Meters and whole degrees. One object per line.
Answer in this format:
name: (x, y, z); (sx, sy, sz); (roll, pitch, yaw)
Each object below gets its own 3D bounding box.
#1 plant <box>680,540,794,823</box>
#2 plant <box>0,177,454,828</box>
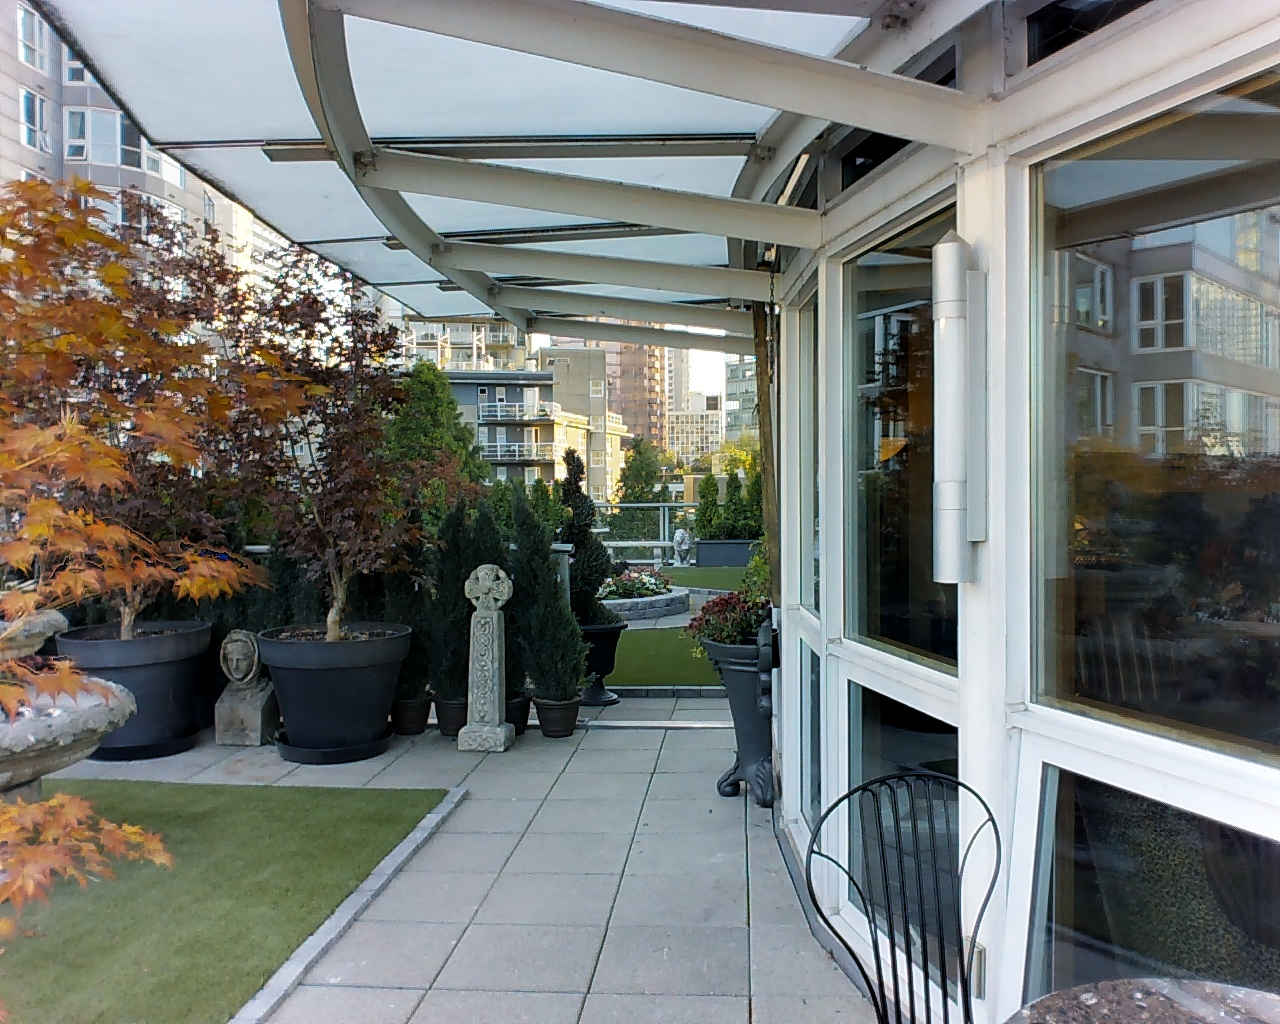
plant: (0.450, 0.720, 4.900); (0.470, 1.150, 0.770); (0, 1, 6)
plant: (-2.659, -0.040, 5.680); (2.859, 2.781, 1.870); (0, 1, 6)
